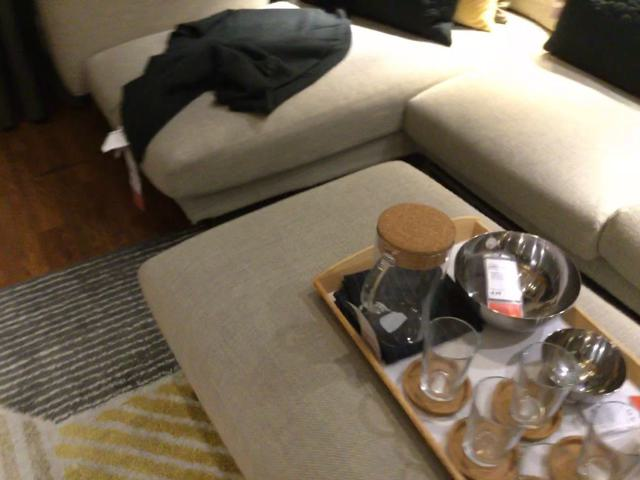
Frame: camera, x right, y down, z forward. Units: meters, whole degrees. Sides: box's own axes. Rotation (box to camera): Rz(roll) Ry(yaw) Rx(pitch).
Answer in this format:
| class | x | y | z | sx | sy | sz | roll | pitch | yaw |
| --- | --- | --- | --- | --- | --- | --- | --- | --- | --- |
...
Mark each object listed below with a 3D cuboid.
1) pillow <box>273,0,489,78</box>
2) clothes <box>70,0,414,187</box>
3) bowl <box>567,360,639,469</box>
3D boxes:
| class | x | y | z | sx | sy | sz | roll | pitch | yaw |
| --- | --- | --- | --- | --- | --- | --- | --- | --- | --- |
| pillow | 0.180 | -0.900 | 1.970 | 0.430 | 0.370 | 0.680 | -21 | 45 | -23 |
| clothes | -0.260 | -0.550 | 1.830 | 0.820 | 0.210 | 0.710 | -21 | 45 | -23 |
| bowl | 0.450 | 0.250 | 0.840 | 0.120 | 0.060 | 0.100 | -17 | 43 | -19 |
